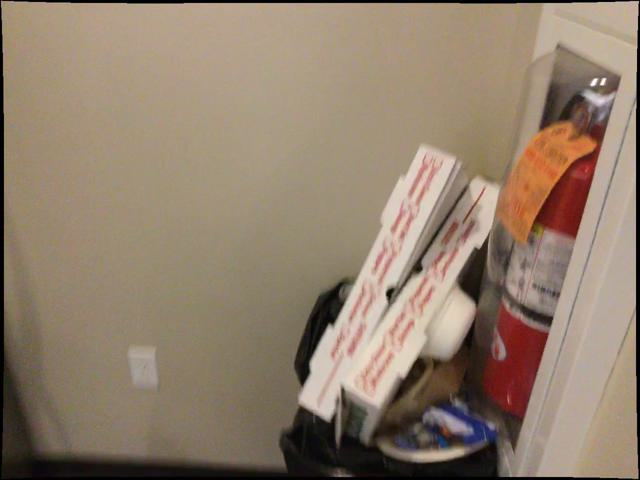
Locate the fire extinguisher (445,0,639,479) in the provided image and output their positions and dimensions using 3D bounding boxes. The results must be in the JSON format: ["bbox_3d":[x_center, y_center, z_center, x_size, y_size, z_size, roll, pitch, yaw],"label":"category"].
[{"bbox_3d":[0.319,0.020,0.810,0.170,0.711,0.420,5,31,6],"label":"fire extinguisher"}]
